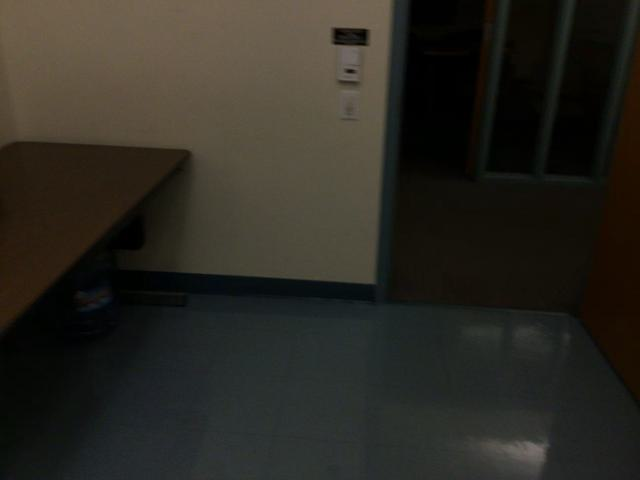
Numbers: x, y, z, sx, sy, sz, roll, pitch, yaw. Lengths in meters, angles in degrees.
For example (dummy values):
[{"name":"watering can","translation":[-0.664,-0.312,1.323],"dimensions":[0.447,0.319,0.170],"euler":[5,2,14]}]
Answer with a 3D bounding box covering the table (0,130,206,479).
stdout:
[{"name":"table","translation":[-0.920,0.200,1.830],"dimensions":[0.750,0.720,1.470],"euler":[4,24,2]}]
